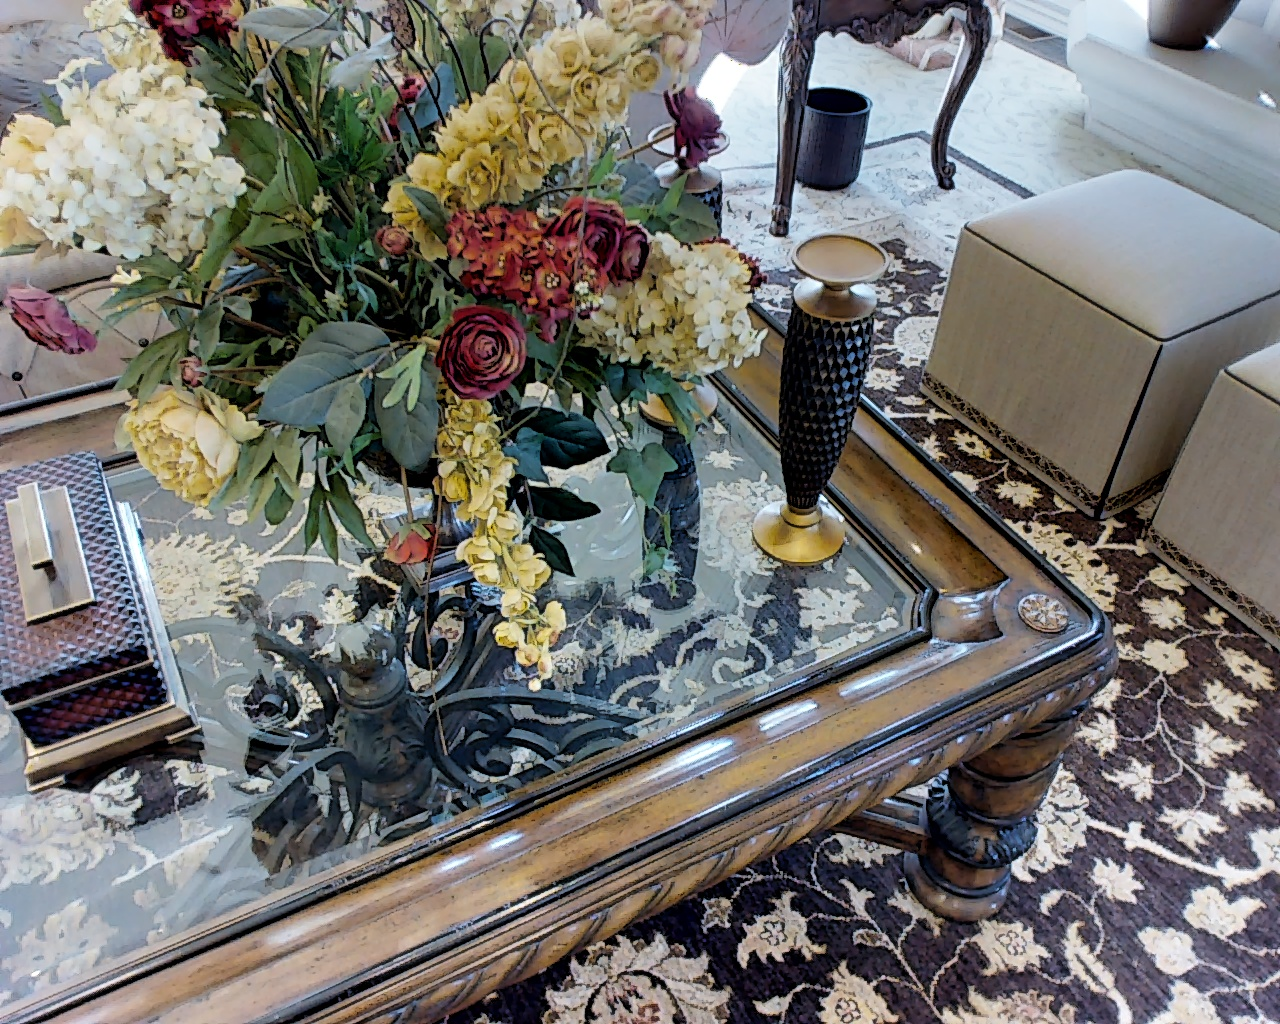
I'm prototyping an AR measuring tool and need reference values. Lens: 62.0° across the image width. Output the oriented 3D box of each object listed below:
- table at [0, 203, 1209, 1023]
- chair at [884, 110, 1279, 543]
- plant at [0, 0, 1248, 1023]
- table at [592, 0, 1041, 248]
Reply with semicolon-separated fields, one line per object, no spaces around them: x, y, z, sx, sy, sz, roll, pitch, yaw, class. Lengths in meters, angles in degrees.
-0.360;0.260;1.440;1.620;0.570;1.150;-21;47;-22;table
1.030;-0.430;2.290;0.650;0.520;0.650;-22;47;-23;chair
-0.180;-0.280;1.040;0.850;0.820;0.900;-20;46;-21;plant
0.470;-1.420;3.200;0.830;0.670;1.040;-21;47;-22;table
